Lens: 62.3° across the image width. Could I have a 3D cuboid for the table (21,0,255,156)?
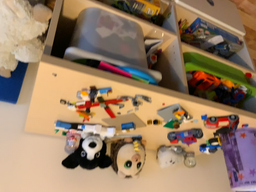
[{"bbox_3d":[0.090,-0.190,1.030,0.920,0.740,0.510,14,148,-24],"label":"table"}]
